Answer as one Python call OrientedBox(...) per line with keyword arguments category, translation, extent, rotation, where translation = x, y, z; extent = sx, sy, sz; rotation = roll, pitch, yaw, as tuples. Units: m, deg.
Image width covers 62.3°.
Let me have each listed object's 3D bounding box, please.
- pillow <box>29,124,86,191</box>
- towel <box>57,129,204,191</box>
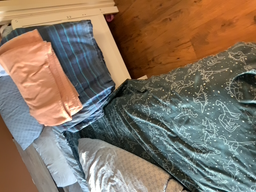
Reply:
OrientedBox(category="pillow", translation=(-0.720, 0.640, 2.130), extent=(0.370, 0.160, 0.670), rotation=(-23, 94, 50))
OrientedBox(category="towel", translation=(-0.030, 0.670, 1.410), extent=(1.080, 0.190, 0.690), rotation=(7, 116, 45))
